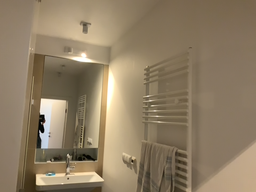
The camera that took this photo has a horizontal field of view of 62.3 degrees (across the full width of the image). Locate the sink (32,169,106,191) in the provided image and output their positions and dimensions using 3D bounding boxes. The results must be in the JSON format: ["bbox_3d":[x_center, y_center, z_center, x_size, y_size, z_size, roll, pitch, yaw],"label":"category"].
[{"bbox_3d":[-0.720,1.040,2.550,0.780,0.170,0.480,6,-7,-23],"label":"sink"}]
